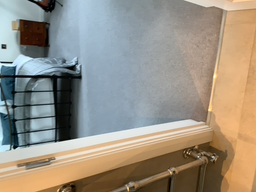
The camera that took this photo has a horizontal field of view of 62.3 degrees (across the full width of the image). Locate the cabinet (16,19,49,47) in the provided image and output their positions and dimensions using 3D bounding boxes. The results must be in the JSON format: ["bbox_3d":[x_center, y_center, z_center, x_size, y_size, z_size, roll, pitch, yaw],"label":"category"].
[{"bbox_3d":[-1.790,-1.160,3.980,0.460,0.470,0.440,18,108,52],"label":"cabinet"}]
